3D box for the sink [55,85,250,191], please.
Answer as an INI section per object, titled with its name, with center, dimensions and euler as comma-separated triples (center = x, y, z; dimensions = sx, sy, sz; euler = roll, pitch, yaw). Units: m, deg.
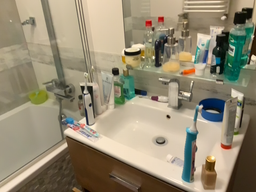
[sink]
center = 0.100, 0.150, 0.880
dimensions = 0.650, 0.110, 0.450
euler = 14, 32, 31
